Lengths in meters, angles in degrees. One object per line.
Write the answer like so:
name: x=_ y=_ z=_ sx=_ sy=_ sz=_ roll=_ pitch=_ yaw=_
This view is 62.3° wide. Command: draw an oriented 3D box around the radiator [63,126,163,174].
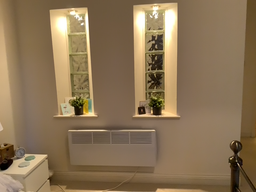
radiator: x=-0.170 y=0.630 z=2.520 sx=1.150 sy=0.530 sz=0.130 roll=-1 pitch=10 yaw=7
